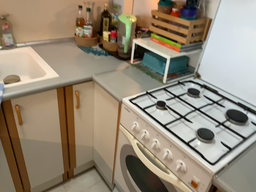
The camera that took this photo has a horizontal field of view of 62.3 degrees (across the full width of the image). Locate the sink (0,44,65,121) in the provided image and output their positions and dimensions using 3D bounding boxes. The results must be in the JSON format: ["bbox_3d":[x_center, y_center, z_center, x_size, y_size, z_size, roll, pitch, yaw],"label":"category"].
[{"bbox_3d":[-0.680,-0.110,1.240,0.420,0.190,0.520,-18,39,-34],"label":"sink"}]

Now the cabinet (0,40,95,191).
[{"bbox_3d":[-0.740,0.190,1.370,0.840,0.840,0.610,-18,39,-34],"label":"cabinet"}]
